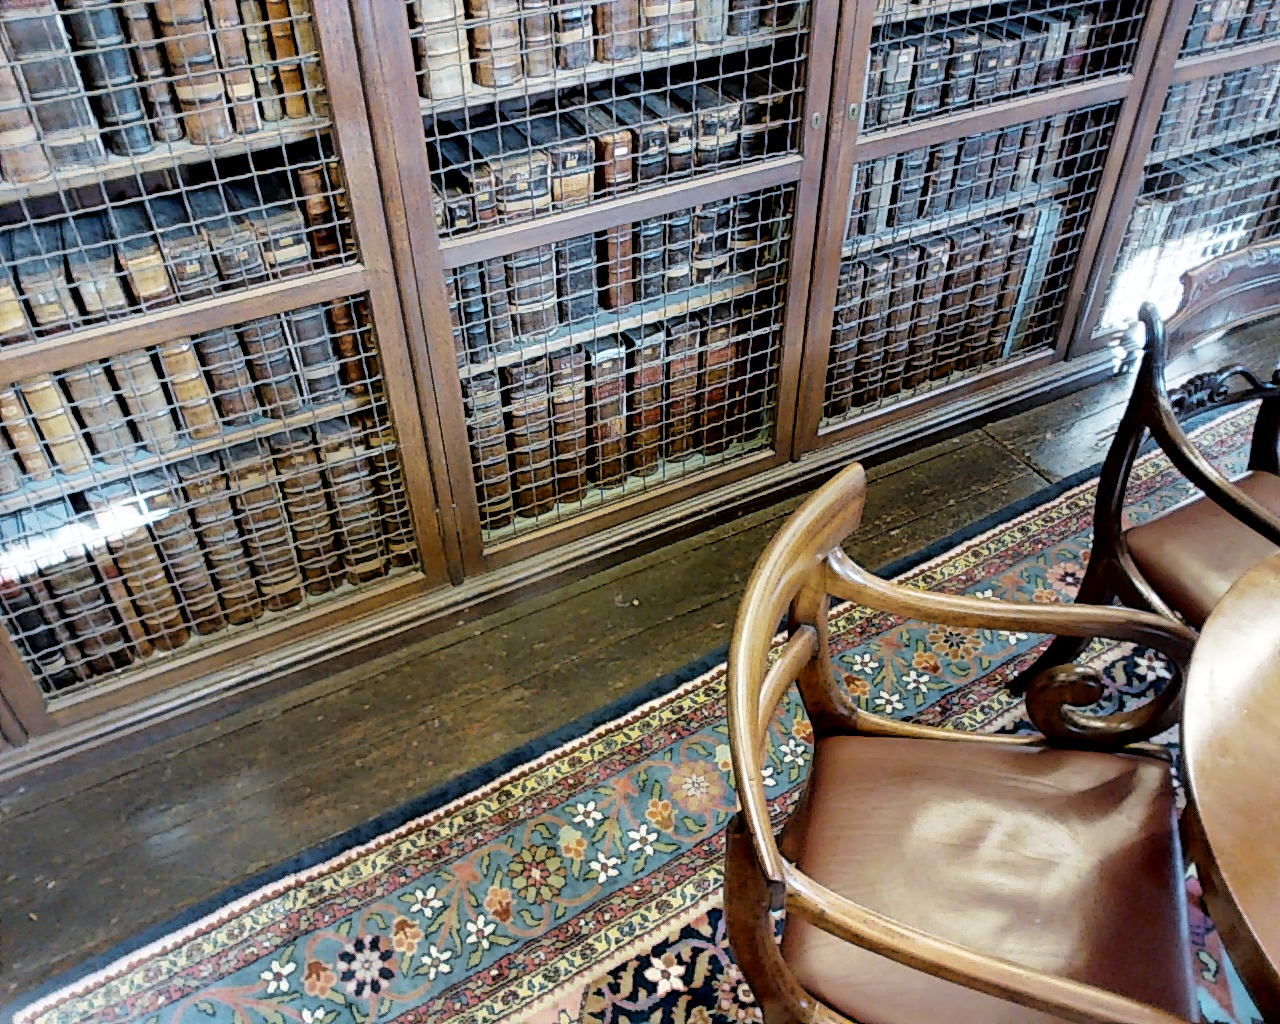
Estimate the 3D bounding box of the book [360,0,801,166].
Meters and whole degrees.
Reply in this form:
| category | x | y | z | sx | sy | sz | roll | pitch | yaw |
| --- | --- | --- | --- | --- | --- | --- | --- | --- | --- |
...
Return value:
| category | x | y | z | sx | sy | sz | roll | pitch | yaw |
| --- | --- | --- | --- | --- | --- | --- | --- | --- | --- |
| book | -0.070 | -0.830 | 1.570 | 0.670 | 0.470 | 0.150 | -21 | 45 | -22 |

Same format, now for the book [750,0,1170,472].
| category | x | y | z | sx | sy | sz | roll | pitch | yaw |
| --- | --- | --- | --- | --- | --- | --- | --- | --- | --- |
| book | 0.630 | -0.580 | 2.260 | 0.740 | 0.830 | 0.220 | -20 | 45 | -21 |

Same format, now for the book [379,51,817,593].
| category | x | y | z | sx | sy | sz | roll | pitch | yaw |
| --- | --- | --- | --- | --- | --- | --- | --- | --- | --- |
| book | -0.050 | -0.330 | 1.990 | 0.690 | 0.840 | 0.190 | -21 | 45 | -22 |

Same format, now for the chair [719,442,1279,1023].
| category | x | y | z | sx | sy | sz | roll | pitch | yaw |
| --- | --- | --- | --- | --- | --- | --- | --- | --- | --- |
| chair | 0.420 | 0.450 | 1.230 | 0.560 | 0.810 | 0.550 | 11 | 42 | 12 |

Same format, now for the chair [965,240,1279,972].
| category | x | y | z | sx | sy | sz | roll | pitch | yaw |
| --- | --- | --- | --- | --- | --- | --- | --- | --- | --- |
| chair | 0.970 | 0.110 | 1.590 | 0.540 | 0.780 | 0.600 | -21 | 45 | -22 |

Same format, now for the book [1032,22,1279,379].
| category | x | y | z | sx | sy | sz | roll | pitch | yaw |
| --- | --- | --- | --- | --- | --- | --- | --- | --- | --- |
| book | 1.360 | -0.760 | 2.610 | 0.700 | 0.690 | 0.200 | -22 | 46 | -23 |
